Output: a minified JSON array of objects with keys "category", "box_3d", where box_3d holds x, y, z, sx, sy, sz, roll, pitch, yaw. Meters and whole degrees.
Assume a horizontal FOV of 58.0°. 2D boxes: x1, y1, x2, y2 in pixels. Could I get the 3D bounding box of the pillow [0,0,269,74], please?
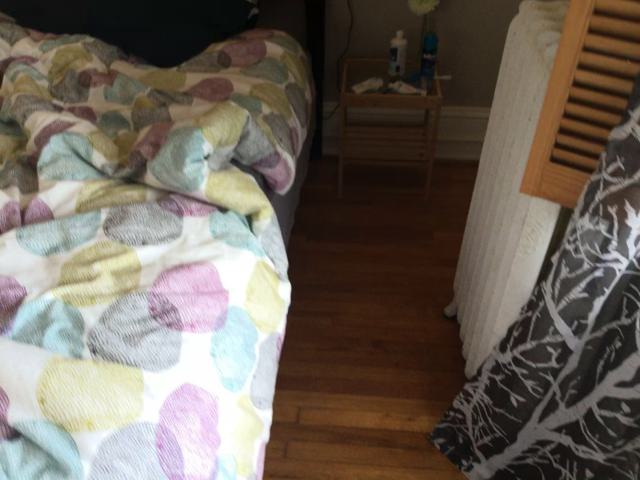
[{"category":"pillow","box_3d":[-0.520,-0.720,1.730,0.670,0.200,0.570,4,37,0]}]
